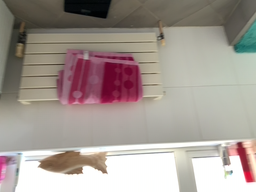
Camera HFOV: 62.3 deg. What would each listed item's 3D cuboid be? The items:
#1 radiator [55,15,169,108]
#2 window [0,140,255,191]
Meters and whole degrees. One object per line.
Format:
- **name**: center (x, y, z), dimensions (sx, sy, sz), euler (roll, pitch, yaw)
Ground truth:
- **radiator**: center (-0.100, -0.220, 1.280), dimensions (0.600, 0.540, 0.140), euler (-3, 158, -3)
- **window**: center (-0.200, 0.770, 1.160), dimensions (2.120, 0.920, 0.050), euler (-3, 158, -3)
